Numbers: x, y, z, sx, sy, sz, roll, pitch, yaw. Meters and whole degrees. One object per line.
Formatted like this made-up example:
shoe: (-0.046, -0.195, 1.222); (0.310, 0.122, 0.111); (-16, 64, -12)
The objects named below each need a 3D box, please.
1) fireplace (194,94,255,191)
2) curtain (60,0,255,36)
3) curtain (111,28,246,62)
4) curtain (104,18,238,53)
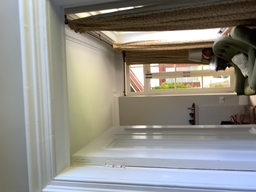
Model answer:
fireplace: (1.880, 0.890, 4.170); (0.540, 1.030, 1.770); (-25, -67, -78)
curtain: (0.610, -0.850, 2.150); (0.260, 2.670, 0.210); (-30, -63, -77)
curtain: (1.010, -1.080, 4.620); (0.390, 2.750, 0.450); (-15, -77, -78)
curtain: (0.720, -1.060, 3.880); (0.650, 2.190, 0.270); (-14, -78, -78)
